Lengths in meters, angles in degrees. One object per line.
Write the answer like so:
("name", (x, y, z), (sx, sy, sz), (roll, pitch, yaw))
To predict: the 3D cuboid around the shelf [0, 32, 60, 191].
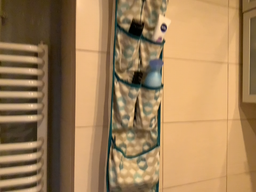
("shelf", (-0.490, 0.140, 0.810), (0.410, 0.730, 0.150), (1, 1, -26))
